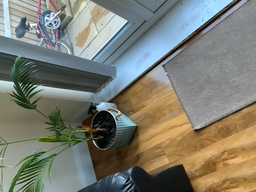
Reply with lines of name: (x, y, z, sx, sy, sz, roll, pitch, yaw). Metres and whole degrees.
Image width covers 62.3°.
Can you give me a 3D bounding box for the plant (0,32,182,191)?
plant: (-0.400, 0.220, 1.250, 0.820, 1.170, 0.540, -30, 66, 35)
